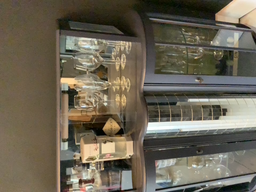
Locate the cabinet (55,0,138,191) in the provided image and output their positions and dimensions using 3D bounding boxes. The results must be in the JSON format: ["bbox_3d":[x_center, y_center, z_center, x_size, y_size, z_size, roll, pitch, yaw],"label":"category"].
[{"bbox_3d":[-0.160,0.080,0.960,0.320,0.310,0.910,-175,84,-70],"label":"cabinet"}]

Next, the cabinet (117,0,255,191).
[{"bbox_3d":[0.390,0.070,1.140,0.360,0.830,0.980,-175,84,-70],"label":"cabinet"}]
